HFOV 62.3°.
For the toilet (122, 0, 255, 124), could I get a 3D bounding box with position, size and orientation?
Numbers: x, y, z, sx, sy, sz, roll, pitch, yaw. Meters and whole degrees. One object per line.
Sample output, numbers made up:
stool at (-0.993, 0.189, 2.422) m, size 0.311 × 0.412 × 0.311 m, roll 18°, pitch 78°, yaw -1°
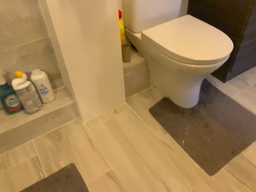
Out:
toilet at (0.280, -0.340, 1.220) m, size 0.380 × 0.760 × 0.550 m, roll -25°, pitch 48°, yaw -20°
